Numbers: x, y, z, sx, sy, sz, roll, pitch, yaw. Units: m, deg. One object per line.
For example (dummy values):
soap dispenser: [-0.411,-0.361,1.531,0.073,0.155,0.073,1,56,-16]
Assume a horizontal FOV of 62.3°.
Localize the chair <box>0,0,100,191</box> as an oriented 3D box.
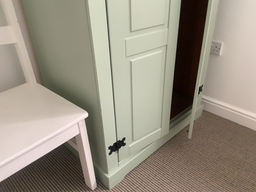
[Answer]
chair: [-0.470,0.030,0.830,0.510,0.950,0.410,25,40,35]
